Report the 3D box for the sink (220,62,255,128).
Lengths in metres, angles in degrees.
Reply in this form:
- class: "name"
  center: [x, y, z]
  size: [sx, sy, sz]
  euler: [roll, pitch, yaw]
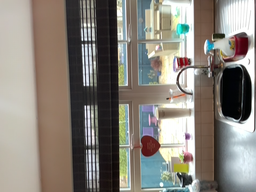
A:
- class: "sink"
  center: [0.780, -0.020, 1.410]
  size: [0.370, 0.160, 0.380]
  euler: [-126, 34, -85]
